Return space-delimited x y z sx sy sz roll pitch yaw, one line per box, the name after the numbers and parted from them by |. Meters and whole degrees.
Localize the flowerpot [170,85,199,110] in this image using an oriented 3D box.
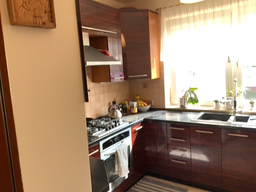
0.860 0.010 3.210 0.370 0.340 0.200 2 10 36 | flowerpot
